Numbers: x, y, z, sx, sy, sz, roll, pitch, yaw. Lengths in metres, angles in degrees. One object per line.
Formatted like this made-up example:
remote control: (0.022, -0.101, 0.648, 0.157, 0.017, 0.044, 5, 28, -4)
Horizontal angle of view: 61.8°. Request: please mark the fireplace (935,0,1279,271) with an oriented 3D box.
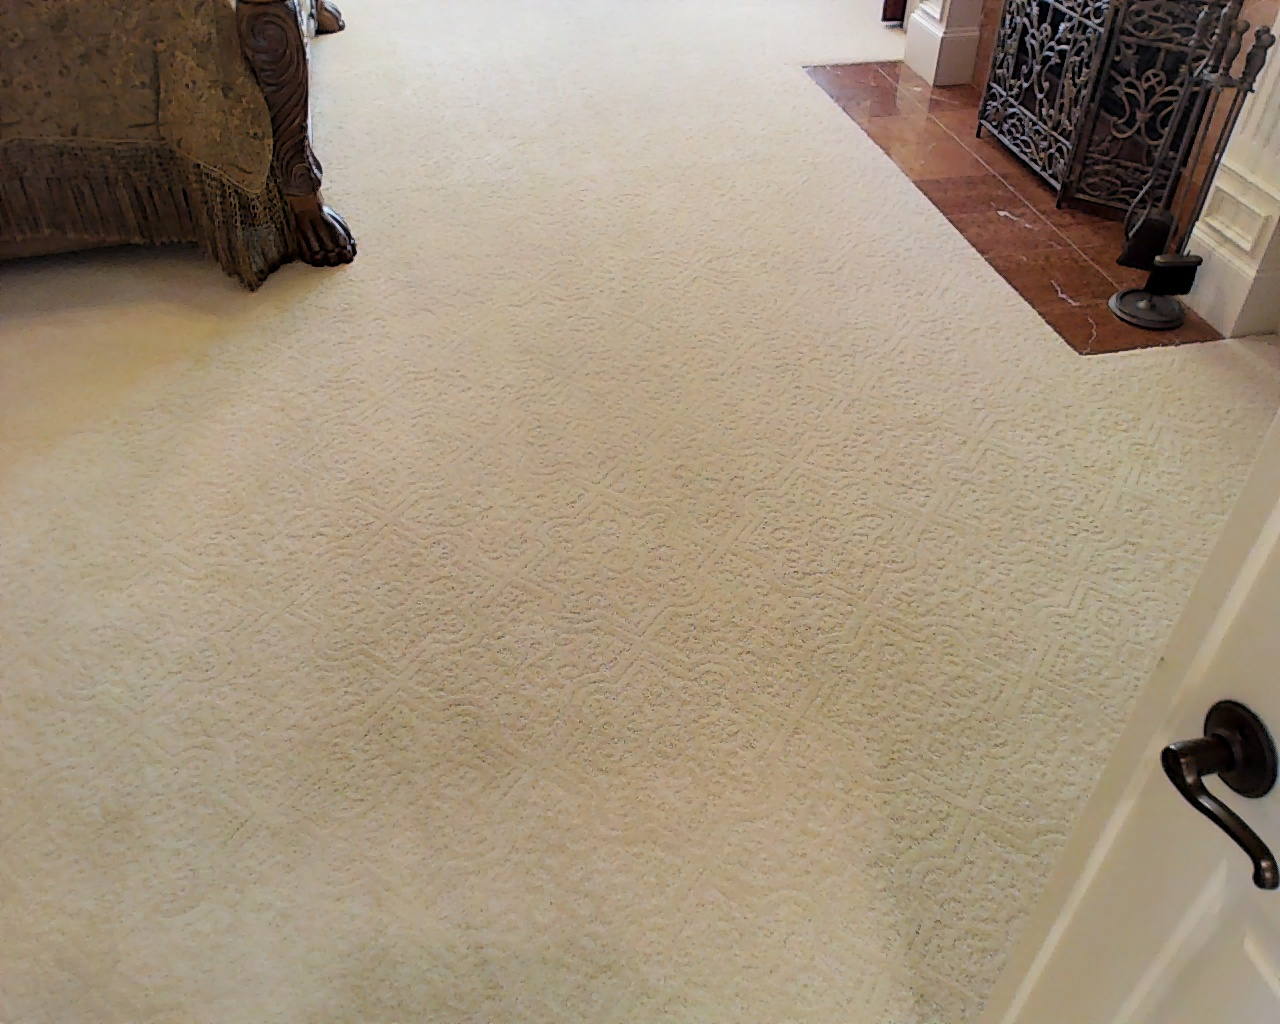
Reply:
fireplace: (1.410, -1.560, 3.320, 0.300, 1.140, 1.180, -8, 42, -10)
